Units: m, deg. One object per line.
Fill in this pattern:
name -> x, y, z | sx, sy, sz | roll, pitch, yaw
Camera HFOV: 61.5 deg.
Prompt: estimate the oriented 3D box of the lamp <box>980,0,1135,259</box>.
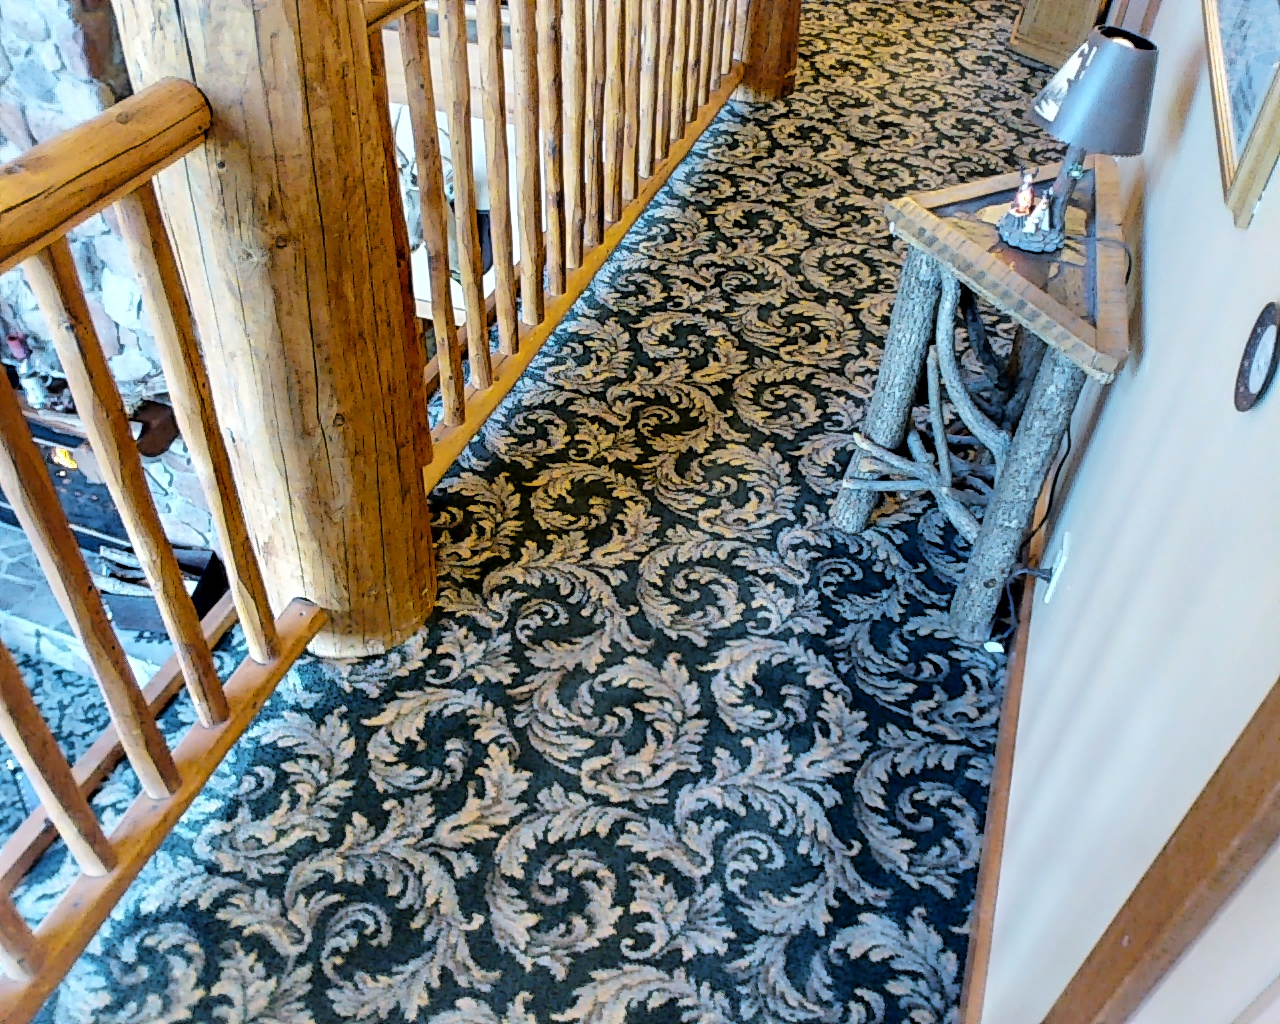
lamp -> 0.670, -0.640, 1.740 | 0.120, 0.390, 0.190 | 15, 44, 13
